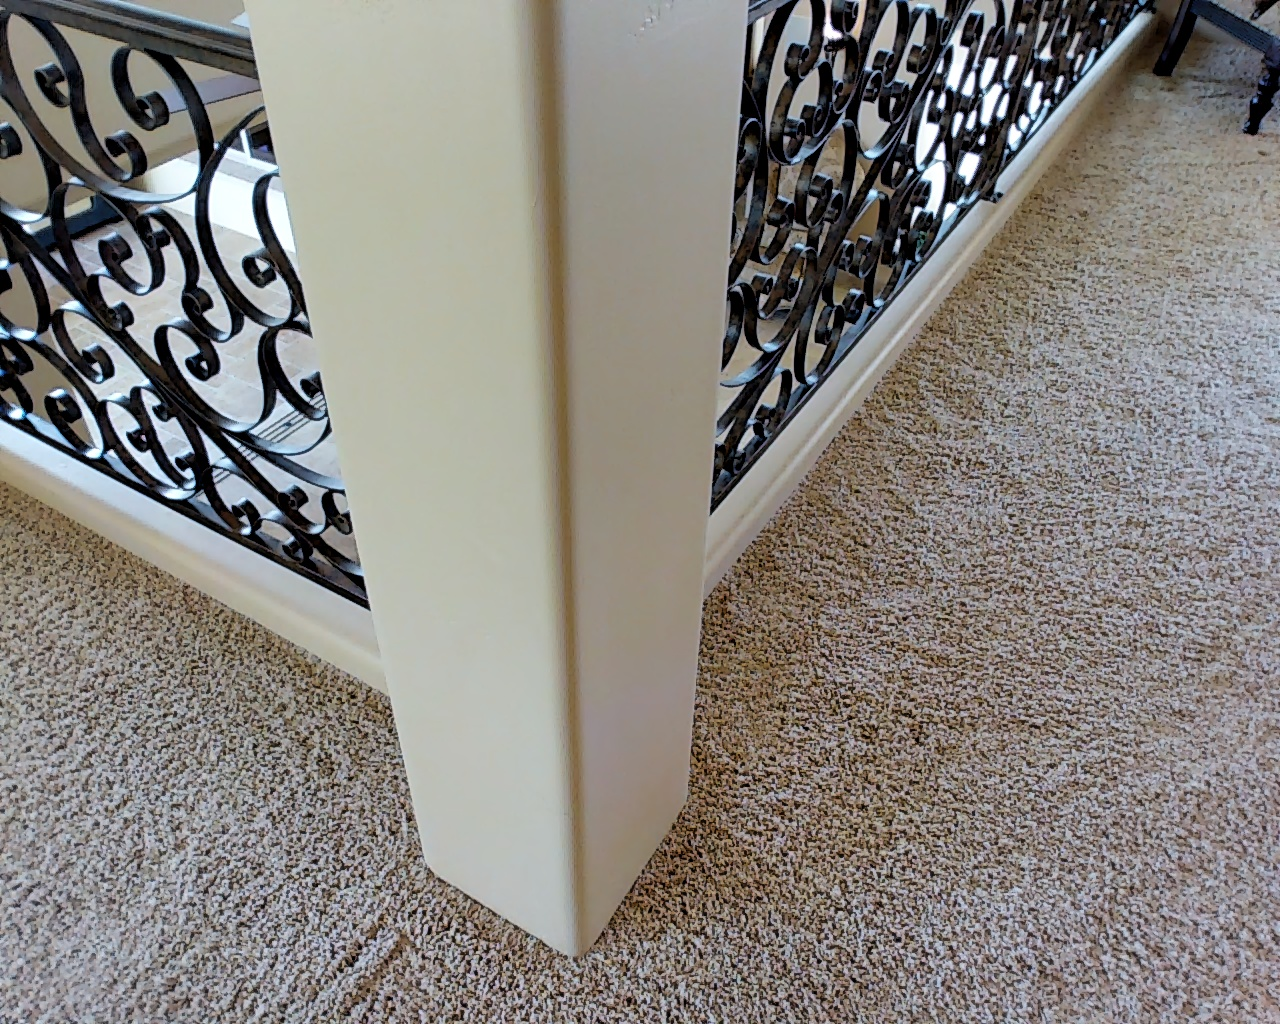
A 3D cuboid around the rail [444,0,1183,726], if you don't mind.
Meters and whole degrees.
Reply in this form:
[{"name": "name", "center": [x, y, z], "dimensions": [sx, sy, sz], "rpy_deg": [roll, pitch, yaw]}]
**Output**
[{"name": "rail", "center": [1.090, -1.389, 3.000], "dimensions": [0.270, 1.150, 4.580], "rpy_deg": [23, 46, 23]}]
